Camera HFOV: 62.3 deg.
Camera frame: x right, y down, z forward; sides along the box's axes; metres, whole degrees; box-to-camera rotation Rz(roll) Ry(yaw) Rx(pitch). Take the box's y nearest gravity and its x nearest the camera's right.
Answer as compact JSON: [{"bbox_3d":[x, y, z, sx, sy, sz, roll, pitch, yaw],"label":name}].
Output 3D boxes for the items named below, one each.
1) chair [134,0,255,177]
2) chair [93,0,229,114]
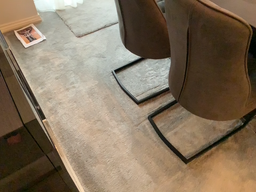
[{"bbox_3d":[0.430,-0.100,1.080,0.600,0.940,0.450,-28,58,-22],"label":"chair"},{"bbox_3d":[0.180,-0.450,1.340,0.620,0.940,0.470,-28,58,-22],"label":"chair"}]
